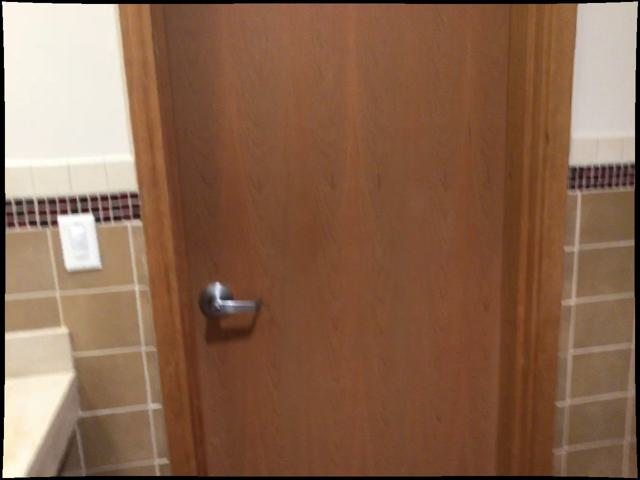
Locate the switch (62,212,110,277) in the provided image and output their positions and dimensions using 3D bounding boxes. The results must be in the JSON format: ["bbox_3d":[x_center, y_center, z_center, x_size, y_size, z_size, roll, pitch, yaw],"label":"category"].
[{"bbox_3d":[-0.529,0.010,1.310,0.080,0.140,0.020,-6,14,-9],"label":"switch"}]

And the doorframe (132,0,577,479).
[{"bbox_3d":[0.120,0.000,1.490,0.989,2.102,0.220,-6,14,-9],"label":"doorframe"}]
